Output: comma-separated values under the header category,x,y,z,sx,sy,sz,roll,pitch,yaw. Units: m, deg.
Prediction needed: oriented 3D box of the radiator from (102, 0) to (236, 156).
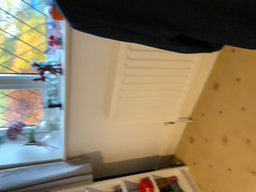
category,x,y,z,sx,sy,sz,roll,pitch,yaw
radiator,0.180,-0.010,1.450,0.170,0.530,1.130,-112,29,-43
